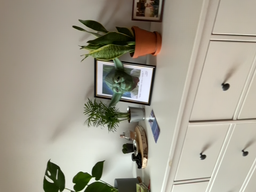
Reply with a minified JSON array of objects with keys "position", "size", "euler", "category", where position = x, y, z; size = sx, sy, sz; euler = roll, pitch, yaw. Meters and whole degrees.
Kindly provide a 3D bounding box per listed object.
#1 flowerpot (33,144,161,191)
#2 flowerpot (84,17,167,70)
[{"position":[-0.180,0.600,1.270],"size":[0.550,0.680,0.270],"euler":[-110,23,-57],"category":"flowerpot"},{"position":[-0.030,-0.250,1.010],"size":[0.190,0.350,0.190],"euler":[-112,24,-59],"category":"flowerpot"}]
